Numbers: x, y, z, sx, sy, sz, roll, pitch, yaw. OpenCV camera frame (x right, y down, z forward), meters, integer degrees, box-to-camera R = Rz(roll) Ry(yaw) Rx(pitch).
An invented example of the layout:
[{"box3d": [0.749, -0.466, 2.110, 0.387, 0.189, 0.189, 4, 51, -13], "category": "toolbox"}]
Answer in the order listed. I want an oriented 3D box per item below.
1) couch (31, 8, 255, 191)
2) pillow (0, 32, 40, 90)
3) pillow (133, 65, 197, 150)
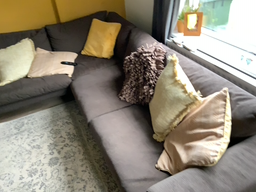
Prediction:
[{"box3d": [-0.100, -0.120, 2.040, 1.110, 0.710, 2.710, -19, 38, -19], "category": "couch"}, {"box3d": [-1.360, -0.370, 2.300, 0.580, 0.150, 0.570, -22, 68, -20], "category": "pillow"}, {"box3d": [0.220, 0.060, 1.450, 0.310, 0.320, 0.480, -6, 36, -1], "category": "pillow"}]
